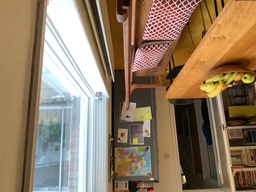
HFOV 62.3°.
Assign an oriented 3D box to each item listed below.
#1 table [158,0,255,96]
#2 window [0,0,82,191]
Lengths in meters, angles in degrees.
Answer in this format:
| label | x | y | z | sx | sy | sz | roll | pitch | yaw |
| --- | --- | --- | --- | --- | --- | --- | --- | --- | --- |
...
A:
| label | x | y | z | sx | sy | sz | roll | pitch | yaw |
| --- | --- | --- | --- | --- | --- | --- | --- | --- | --- |
| table | 0.670 | -0.560 | 1.670 | 0.580 | 0.740 | 1.510 | -2 | 166 | -1 |
| window | -0.520 | 0.490 | 1.460 | 0.100 | 1.440 | 1.760 | -2 | 166 | -3 |
